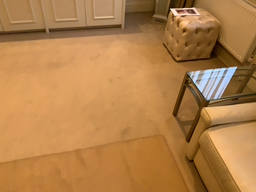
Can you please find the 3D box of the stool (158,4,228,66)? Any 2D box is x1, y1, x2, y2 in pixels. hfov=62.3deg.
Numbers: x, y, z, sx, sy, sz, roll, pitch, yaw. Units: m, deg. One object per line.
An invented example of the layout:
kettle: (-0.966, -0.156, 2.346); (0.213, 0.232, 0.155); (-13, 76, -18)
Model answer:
stool: (0.730, -0.750, 2.550); (0.500, 0.460, 0.600); (-5, 46, -11)
